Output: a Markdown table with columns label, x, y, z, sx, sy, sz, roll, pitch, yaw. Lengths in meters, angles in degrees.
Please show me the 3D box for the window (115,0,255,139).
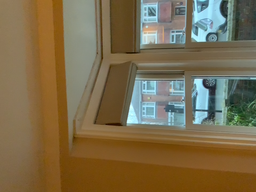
| label | x | y | z | sx | sy | sz | roll | pitch | yaw |
| --- | --- | --- | --- | --- | --- | --- | --- | --- | --- |
| window | 0.700 | -0.930 | 2.010 | 0.930 | 1.460 | 2.400 | -45 | -45 | -74 |
